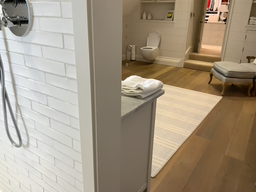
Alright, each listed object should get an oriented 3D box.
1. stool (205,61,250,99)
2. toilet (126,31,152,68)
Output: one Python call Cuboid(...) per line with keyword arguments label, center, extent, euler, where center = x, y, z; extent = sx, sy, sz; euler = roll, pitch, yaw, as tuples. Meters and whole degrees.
Cuboid(label="stool", center=(1.820, -0.330, 4.000), extent=(0.450, 0.460, 0.830), euler=(4, 22, 4))
Cuboid(label="toilet", center=(0.300, -1.270, 5.720), extent=(0.390, 0.870, 0.630), euler=(15, 25, 29))
